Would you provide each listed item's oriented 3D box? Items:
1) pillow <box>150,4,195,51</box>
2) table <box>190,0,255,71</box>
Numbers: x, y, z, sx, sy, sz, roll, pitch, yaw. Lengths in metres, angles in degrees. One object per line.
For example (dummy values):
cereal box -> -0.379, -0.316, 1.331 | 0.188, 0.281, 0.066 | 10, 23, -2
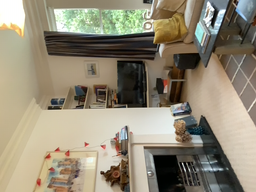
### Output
pillow -> 0.620, -0.980, 3.020 | 0.190, 0.480, 0.520 | 54, -161, -54
table -> 0.990, -0.920, 1.820 | 1.420, 0.450, 0.520 | 93, 176, -49
